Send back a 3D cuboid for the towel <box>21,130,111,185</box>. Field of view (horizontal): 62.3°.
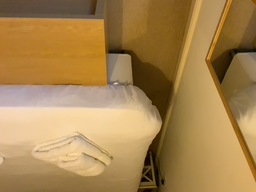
[{"bbox_3d":[-0.350,0.390,1.280,0.350,0.110,0.380,-19,136,17],"label":"towel"}]
